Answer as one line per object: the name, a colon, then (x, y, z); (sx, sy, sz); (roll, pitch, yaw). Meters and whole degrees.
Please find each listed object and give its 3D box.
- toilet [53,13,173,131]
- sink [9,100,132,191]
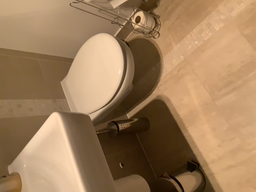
toilet: (-0.110, -0.100, 1.210); (0.520, 0.340, 0.360); (-42, 63, 34)
sink: (-0.180, 0.400, 0.680); (0.480, 0.130, 0.610); (-42, 63, 34)
